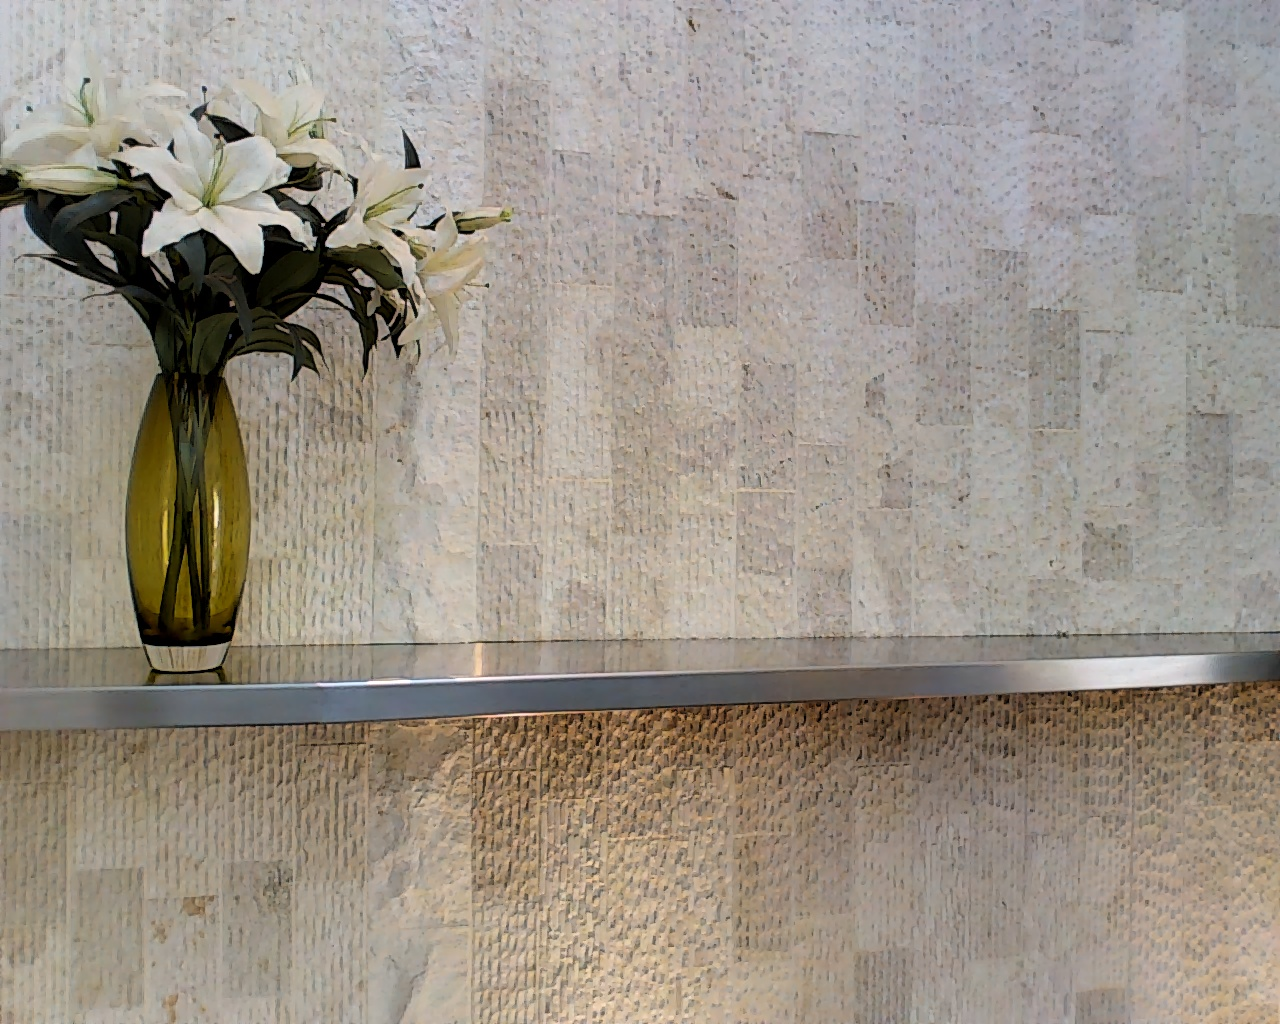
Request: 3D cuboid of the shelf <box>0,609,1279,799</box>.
[{"bbox_3d":[0.310,0.250,1.630,2.410,0.150,0.330,1,0,-16],"label":"shelf"}]
